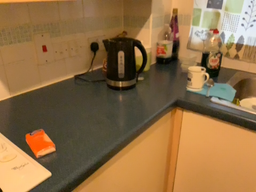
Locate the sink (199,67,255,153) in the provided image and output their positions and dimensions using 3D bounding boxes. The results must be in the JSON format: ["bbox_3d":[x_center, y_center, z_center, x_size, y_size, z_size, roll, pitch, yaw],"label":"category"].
[{"bbox_3d":[0.690,0.050,1.070,0.440,0.170,0.600,18,30,32],"label":"sink"}]
